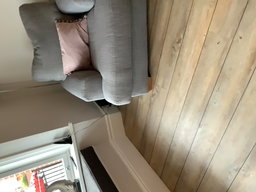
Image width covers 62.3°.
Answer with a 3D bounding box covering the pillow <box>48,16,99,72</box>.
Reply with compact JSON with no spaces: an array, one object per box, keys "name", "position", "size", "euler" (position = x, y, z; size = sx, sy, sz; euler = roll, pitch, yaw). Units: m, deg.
[{"name":"pillow","position":[-0.480,-0.460,1.890],"size":[0.140,0.270,0.400],"euler":[30,146,60]}]
